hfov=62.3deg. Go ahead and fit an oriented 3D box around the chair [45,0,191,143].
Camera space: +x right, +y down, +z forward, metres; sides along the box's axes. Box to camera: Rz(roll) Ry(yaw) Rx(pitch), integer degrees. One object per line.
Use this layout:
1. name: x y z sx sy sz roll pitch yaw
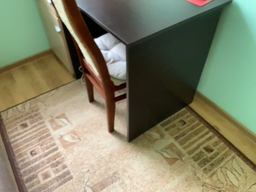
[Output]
1. chair: -0.060 -0.260 1.230 0.550 0.950 0.440 -25 53 -20
